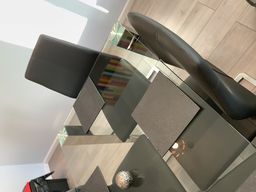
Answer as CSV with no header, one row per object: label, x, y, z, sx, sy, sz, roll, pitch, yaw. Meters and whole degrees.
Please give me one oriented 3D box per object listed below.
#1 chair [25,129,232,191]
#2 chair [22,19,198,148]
chair,0.020,0.580,1.240,0.590,1.010,0.460,-57,47,24
chair,-0.100,-0.030,1.500,0.480,1.000,0.570,-58,47,23
